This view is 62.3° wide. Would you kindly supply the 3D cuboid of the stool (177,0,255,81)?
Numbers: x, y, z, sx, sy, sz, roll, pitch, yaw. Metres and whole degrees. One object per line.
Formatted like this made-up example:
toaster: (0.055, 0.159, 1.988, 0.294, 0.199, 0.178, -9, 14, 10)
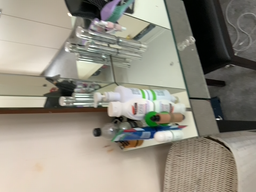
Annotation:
stool: (0.540, -0.410, 1.160, 0.200, 0.530, 0.590, -27, 68, 48)
